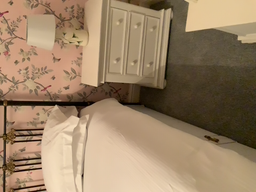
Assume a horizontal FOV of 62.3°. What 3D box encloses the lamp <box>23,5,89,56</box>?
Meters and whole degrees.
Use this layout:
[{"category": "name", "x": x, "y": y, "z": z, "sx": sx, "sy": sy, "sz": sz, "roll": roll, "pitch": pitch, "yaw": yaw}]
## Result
[{"category": "lamp", "x": -0.540, "y": -0.460, "z": 1.580, "sx": 0.280, "sy": 0.410, "sz": 0.270, "roll": 19, "pitch": 105, "yaw": 60}]
